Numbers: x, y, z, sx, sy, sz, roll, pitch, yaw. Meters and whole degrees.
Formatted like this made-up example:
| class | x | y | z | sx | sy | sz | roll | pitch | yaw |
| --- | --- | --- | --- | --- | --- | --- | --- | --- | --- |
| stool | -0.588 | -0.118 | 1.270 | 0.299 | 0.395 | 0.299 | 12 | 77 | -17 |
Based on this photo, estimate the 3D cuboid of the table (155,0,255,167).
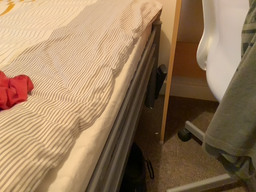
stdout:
| class | x | y | z | sx | sy | sz | roll | pitch | yaw |
| --- | --- | --- | --- | --- | --- | --- | --- | --- | --- |
| table | 0.560 | -0.140 | 0.850 | 0.790 | 0.760 | 0.450 | 8 | 37 | 11 |
